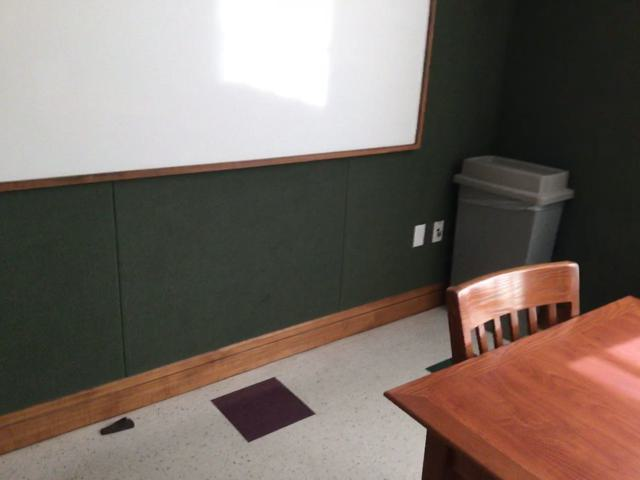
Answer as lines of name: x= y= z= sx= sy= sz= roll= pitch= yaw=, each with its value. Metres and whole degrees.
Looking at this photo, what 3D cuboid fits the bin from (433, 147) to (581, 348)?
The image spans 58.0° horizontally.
bin: x=0.910 y=0.010 z=2.910 sx=0.310 sy=0.860 sz=0.520 roll=-12 pitch=23 yaw=-35
